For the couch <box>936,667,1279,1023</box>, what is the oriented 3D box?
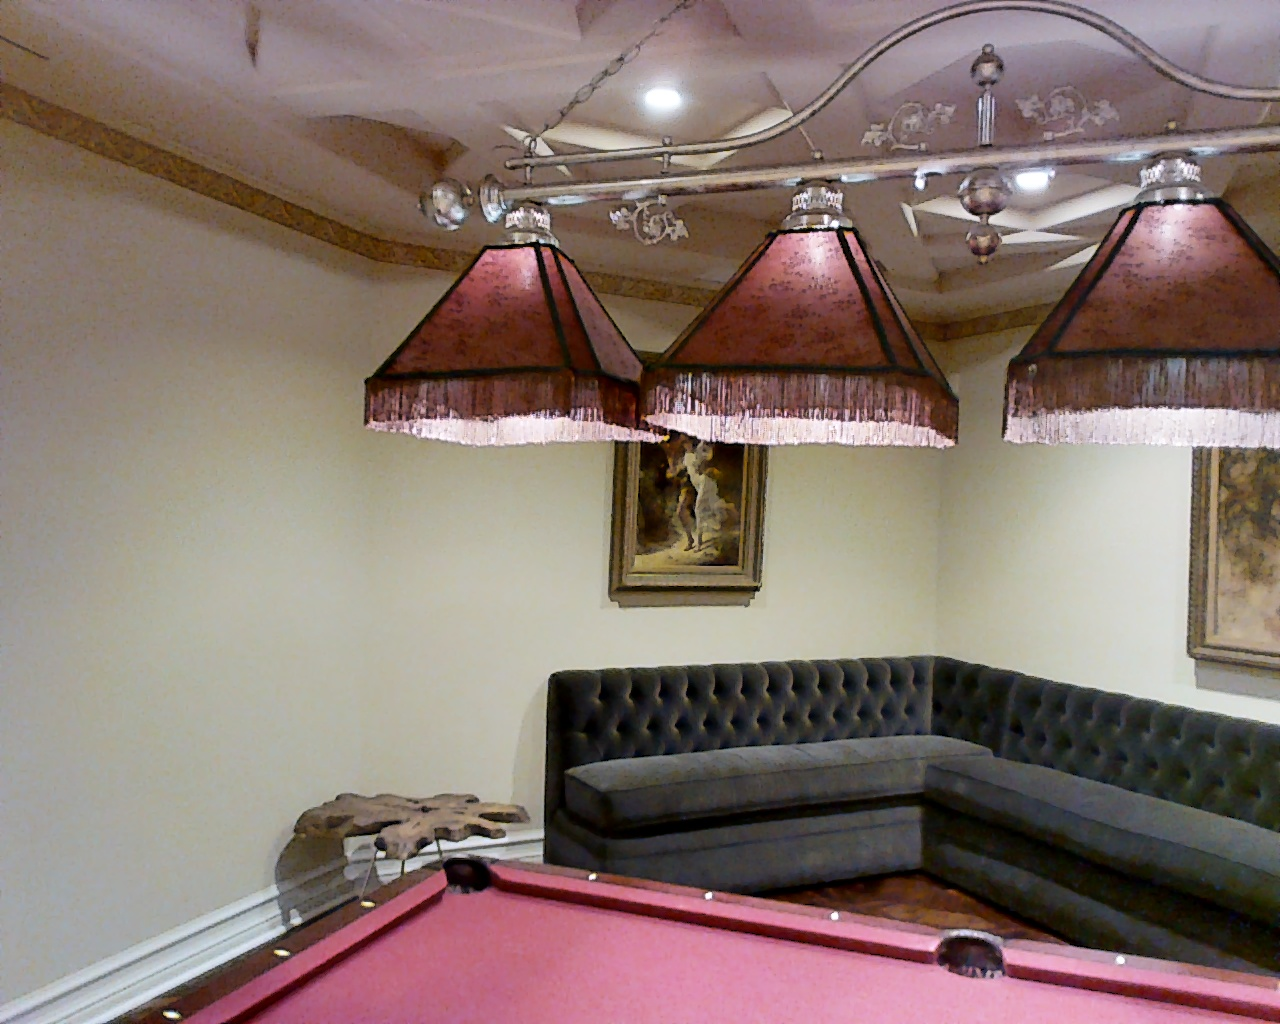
[{"bbox_3d":[2.279,1.270,4.070,0.790,0.970,2.490,2,0,-24],"label":"couch"}]
